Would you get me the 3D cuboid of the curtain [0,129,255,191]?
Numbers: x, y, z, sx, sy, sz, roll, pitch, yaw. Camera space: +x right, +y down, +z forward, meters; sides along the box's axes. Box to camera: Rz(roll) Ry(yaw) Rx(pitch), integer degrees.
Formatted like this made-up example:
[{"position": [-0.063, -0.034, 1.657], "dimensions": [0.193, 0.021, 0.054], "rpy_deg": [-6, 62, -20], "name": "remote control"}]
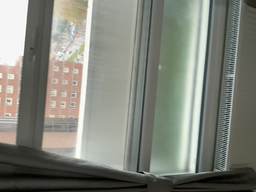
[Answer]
[{"position": [-0.090, 0.400, 0.990], "dimensions": [0.180, 1.910, 0.460], "rpy_deg": [180, 94, -67], "name": "curtain"}]
